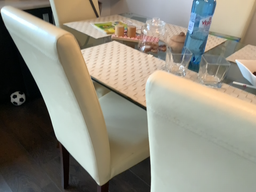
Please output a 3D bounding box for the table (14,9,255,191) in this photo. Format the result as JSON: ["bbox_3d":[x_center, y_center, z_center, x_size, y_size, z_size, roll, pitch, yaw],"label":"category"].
[{"bbox_3d":[0.330,0.170,1.150,1.750,0.800,0.910,29,41,32],"label":"table"}]

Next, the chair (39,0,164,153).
[{"bbox_3d":[-0.200,-0.240,1.490,0.620,1.020,0.440,30,41,33],"label":"chair"}]
